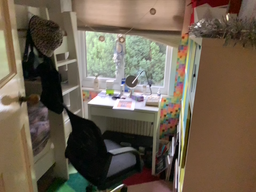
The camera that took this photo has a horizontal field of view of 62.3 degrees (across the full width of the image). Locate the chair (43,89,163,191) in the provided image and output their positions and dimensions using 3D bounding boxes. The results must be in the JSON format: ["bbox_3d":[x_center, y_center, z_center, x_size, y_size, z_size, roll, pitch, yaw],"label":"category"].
[{"bbox_3d":[-0.200,0.520,1.710,0.640,0.960,0.610,-14,23,-41],"label":"chair"}]

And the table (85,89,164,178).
[{"bbox_3d":[-0.010,0.390,2.500,0.770,0.740,0.620,6,17,12],"label":"table"}]
